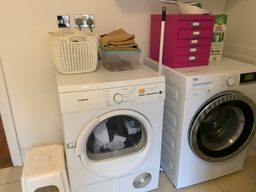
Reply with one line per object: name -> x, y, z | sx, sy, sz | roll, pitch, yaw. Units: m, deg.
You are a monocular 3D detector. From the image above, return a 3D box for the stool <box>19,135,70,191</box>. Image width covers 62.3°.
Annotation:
stool -> -0.580, 0.520, 1.520 | 0.270, 0.240, 0.450 | -7, 24, -18

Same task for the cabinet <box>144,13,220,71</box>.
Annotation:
cabinet -> 0.360, -0.420, 1.560 | 0.330, 0.340, 0.440 | -7, 24, -18
